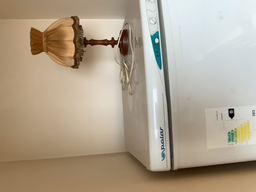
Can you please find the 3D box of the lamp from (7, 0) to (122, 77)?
[{"bbox_3d":[-0.240,-0.230,0.880,0.220,0.400,0.260,152,115,-81],"label":"lamp"}]
